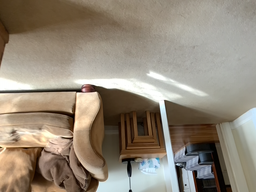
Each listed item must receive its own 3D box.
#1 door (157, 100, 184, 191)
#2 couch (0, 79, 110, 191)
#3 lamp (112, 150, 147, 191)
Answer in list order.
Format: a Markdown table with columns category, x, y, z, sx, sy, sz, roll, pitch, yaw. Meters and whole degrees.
| category | x | y | z | sx | sy | sz | roll | pitch | yaw |
| --- | --- | --- | --- | --- | --- | --- | --- | --- | --- |
| door | 0.520 | 1.130 | 2.050 | 0.100 | 2.040 | 0.820 | -10 | 153 | 11 |
| couch | -1.190 | 0.520 | 1.970 | 2.000 | 0.840 | 1.160 | -2 | 154 | -6 |
| lamp | 0.010 | 1.000 | 2.280 | 0.310 | 0.740 | 0.370 | 0 | 154 | -9 |
